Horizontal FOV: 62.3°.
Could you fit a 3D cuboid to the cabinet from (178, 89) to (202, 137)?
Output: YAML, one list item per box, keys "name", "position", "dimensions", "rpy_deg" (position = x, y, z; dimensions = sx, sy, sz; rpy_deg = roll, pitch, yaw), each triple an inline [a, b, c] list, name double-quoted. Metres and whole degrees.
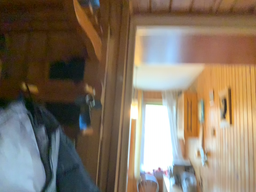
- name: "cabinet"
  position: [0.980, 0.310, 3.410]
  dimensions: [0.210, 0.660, 0.950]
  rpy_deg: [3, -10, 8]

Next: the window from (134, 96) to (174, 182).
- name: "window"
  position: [0.540, 0.820, 4.270]
  dimensions: [0.720, 1.590, 0.260]
  rpy_deg: [2, -10, 13]
